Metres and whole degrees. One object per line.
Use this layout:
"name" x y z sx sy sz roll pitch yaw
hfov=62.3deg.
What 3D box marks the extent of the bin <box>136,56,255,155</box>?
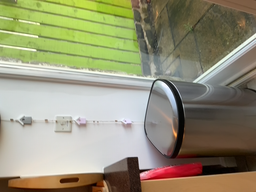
"bin" 0.460 0.090 1.240 0.360 0.700 0.420 134 135 -58
